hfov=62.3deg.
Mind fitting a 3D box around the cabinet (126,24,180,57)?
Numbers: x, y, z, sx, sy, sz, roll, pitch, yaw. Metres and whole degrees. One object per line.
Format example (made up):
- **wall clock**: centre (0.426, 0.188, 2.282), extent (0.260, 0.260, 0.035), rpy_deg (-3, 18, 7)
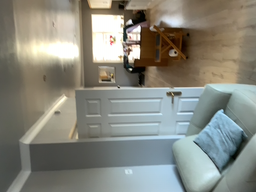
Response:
- **cabinet**: centre (0.500, -1.360, 5.450), extent (2.260, 0.860, 0.650), rpy_deg (-121, 31, -77)
